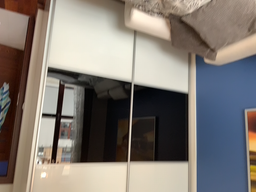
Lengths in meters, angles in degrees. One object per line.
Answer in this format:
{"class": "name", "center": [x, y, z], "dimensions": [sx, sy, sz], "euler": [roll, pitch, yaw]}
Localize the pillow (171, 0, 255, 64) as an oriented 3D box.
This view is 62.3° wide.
{"class": "pillow", "center": [0.680, -0.580, 1.630], "dimensions": [0.280, 0.440, 0.500], "euler": [-6, 133, -42]}
